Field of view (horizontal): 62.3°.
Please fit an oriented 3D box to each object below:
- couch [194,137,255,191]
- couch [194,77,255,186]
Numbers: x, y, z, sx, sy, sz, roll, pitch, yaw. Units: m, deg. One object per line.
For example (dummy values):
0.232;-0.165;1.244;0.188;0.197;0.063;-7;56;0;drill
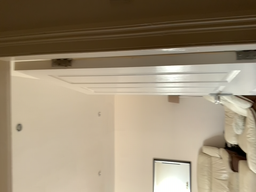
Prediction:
1.830;2.030;4.080;1.010;1.020;2.210;-5;-85;-75;couch
1.460;0.330;2.820;1.610;1.060;1.060;-5;-86;-75;couch
